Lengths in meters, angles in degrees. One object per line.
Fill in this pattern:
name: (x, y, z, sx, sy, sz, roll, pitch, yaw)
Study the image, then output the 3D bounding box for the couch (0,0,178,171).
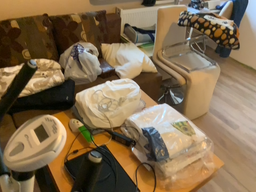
couch: (-0.720, -0.190, 1.800, 2.030, 0.820, 0.930, -19, 46, -30)
